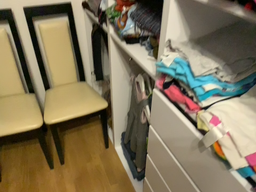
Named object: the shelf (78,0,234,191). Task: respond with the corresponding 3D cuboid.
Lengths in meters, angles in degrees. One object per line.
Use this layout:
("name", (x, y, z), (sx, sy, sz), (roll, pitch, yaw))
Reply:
("shelf", (0.000, -0.290, 1.350), (0.330, 1.710, 1.080), (-14, 41, -20))

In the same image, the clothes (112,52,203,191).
("clothes", (0.130, 0.190, 1.380), (0.300, 0.790, 0.430), (-16, 41, -22))
